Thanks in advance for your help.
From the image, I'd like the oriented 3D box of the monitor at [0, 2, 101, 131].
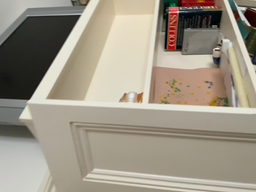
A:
[{"bbox_3d":[-0.520,-0.250,1.070,0.040,0.560,0.930,87,-170,-46],"label":"monitor"}]
